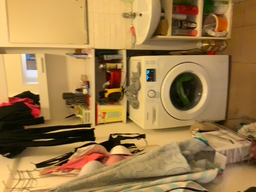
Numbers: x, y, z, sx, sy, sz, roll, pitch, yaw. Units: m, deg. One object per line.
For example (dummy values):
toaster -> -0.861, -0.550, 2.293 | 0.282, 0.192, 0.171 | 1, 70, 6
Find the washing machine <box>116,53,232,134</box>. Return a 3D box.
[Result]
washing machine -> 0.390, -0.080, 2.110 | 0.750, 0.840, 0.630 | -156, 65, -70
